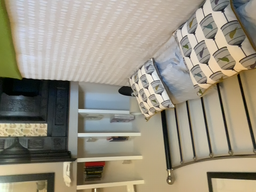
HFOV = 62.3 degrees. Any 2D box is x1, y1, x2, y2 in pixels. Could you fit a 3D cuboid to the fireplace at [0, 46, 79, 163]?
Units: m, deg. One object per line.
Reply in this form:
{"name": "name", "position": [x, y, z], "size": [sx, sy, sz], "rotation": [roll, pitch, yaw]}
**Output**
{"name": "fireplace", "position": [-1.210, 0.110, 2.420], "size": [1.200, 1.240, 0.390], "rotation": [4, 162, -21]}
